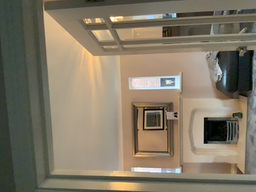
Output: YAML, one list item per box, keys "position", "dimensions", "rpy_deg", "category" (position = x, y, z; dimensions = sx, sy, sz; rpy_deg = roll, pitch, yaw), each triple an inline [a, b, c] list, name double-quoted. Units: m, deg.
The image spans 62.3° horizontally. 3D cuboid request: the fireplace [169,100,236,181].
- position: [1.430, 0.850, 4.310]
  dimensions: [0.720, 1.120, 1.430]
  rpy_deg: [-51, -39, -82]
  category: "fireplace"
